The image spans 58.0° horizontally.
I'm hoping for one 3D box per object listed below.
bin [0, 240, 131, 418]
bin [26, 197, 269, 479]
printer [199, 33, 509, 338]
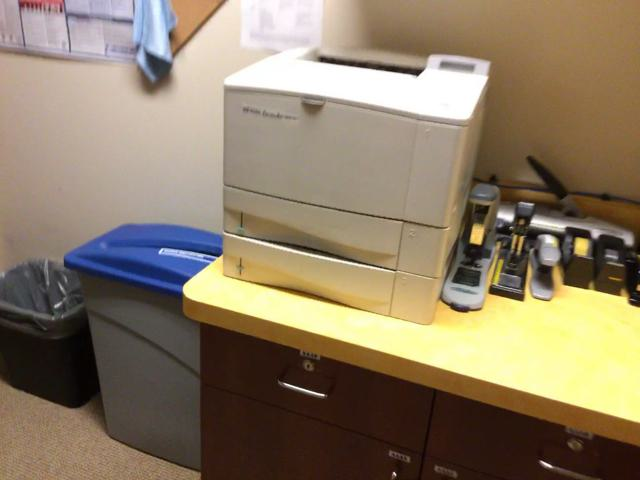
[{"bbox_3d":[-0.910,0.280,1.910,0.500,0.390,0.240,15,24,17],"label":"bin"},{"bbox_3d":[-0.500,0.290,1.710,0.570,0.670,0.300,15,24,17],"label":"bin"},{"bbox_3d":[0.060,-0.130,1.040,0.430,0.400,0.310,15,24,17],"label":"printer"}]
